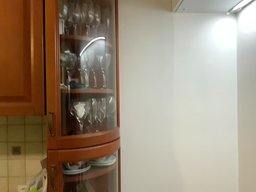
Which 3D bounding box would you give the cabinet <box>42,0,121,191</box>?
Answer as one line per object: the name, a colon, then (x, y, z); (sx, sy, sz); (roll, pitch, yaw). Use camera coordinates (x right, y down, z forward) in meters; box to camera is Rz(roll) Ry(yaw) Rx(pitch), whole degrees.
cabinet: (-0.210, -0.130, 1.080); (0.330, 1.690, 0.320); (-1, 0, -4)
